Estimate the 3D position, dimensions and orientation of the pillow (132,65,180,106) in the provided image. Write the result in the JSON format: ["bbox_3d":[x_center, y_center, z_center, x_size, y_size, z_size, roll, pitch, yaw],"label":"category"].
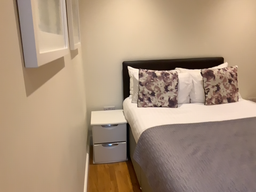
[{"bbox_3d":[0.290,-0.110,2.240,0.410,0.350,0.130,10,13,-11],"label":"pillow"}]

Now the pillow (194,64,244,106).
[{"bbox_3d":[1.000,-0.120,2.350,0.430,0.390,0.120,8,13,-14],"label":"pillow"}]

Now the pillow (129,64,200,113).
[{"bbox_3d":[0.390,-0.110,2.470,0.690,0.450,0.460,-3,16,-7],"label":"pillow"}]
